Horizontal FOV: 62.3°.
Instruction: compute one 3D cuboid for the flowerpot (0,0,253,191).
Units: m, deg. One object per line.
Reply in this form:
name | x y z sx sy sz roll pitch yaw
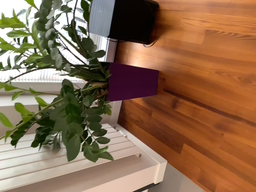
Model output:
flowerpot | -0.230 -0.240 1.180 1.090 1.050 1.020 30 113 44
